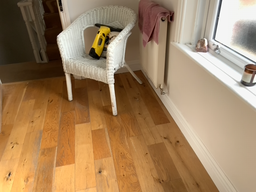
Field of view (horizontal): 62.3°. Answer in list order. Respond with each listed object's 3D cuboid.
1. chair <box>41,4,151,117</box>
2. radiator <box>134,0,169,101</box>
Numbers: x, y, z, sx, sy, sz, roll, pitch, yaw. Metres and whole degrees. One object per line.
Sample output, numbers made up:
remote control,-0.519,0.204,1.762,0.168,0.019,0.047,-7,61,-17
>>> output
chair,-0.230,-0.360,1.910,0.630,0.720,0.620,18,39,27
radiator,0.180,-0.460,1.870,0.130,0.880,0.480,-9,35,-10
